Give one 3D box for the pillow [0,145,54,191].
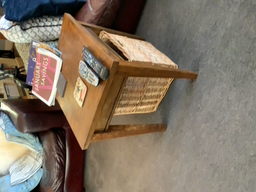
[{"bbox_3d":[-1.040,0.720,2.040,0.450,0.470,0.120,-75,5,-71],"label":"pillow"}]
